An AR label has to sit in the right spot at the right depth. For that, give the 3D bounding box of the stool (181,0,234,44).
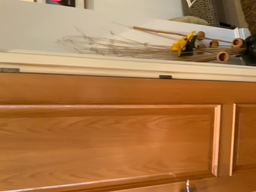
[{"bbox_3d":[0.770,-0.840,2.100,0.340,0.330,0.530,165,105,-70],"label":"stool"}]

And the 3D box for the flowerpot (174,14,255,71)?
[{"bbox_3d":[0.740,-0.360,1.530,0.240,0.740,0.260,137,130,-64],"label":"flowerpot"}]

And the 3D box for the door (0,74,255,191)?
[{"bbox_3d":[0.220,0.310,1.160,0.090,2.010,0.800,-166,77,-70],"label":"door"}]
